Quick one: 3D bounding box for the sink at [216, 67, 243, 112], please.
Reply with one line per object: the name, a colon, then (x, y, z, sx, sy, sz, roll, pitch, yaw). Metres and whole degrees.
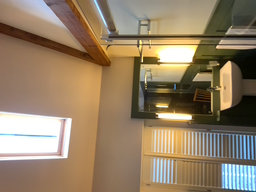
sink: (1.360, -0.070, 2.870, 0.390, 0.210, 0.530, 59, -146, -77)
